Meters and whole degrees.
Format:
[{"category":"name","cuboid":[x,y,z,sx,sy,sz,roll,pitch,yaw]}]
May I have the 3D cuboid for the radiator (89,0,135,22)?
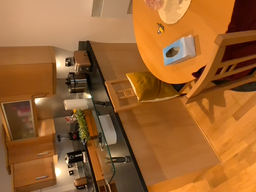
[{"category":"radiator","cuboid":[-0.180,-1.090,2.500,0.110,0.490,0.380,65,149,34]}]
